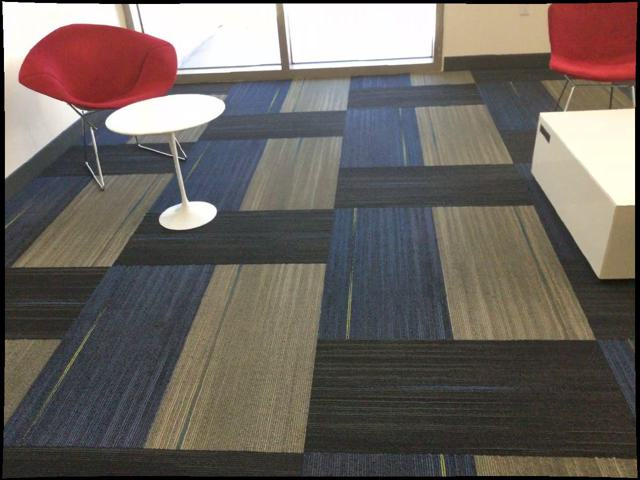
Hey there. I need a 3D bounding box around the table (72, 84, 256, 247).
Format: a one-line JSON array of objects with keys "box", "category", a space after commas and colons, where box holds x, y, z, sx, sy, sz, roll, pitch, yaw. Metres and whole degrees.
[{"box": [-0.668, -0.351, 2.670, 0.569, 0.541, 0.570, 0, 33, 8], "category": "table"}]

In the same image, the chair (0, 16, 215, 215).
[{"box": [-1.197, -0.742, 3.200, 0.779, 0.711, 0.849, -27, 39, -30], "category": "chair"}]

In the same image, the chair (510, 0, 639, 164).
[{"box": [1.406, -0.872, 2.990, 0.618, 0.711, 0.640, -2, 33, 6], "category": "chair"}]
